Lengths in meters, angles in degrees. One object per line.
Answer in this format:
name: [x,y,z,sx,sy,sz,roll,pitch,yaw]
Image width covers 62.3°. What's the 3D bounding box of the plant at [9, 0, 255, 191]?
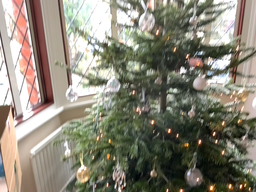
plant: [0.250,0.210,1.480,1.470,1.760,1.260,-14,22,-33]
